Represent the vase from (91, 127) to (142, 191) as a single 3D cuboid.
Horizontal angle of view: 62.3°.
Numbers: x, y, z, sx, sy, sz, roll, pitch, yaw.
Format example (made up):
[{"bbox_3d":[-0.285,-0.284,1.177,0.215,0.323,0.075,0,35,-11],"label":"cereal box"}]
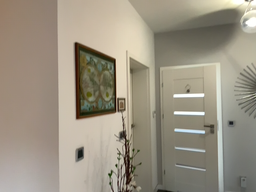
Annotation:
[{"bbox_3d":[-0.080,0.900,1.730,0.310,1.250,0.290,-1,-1,25],"label":"vase"}]
